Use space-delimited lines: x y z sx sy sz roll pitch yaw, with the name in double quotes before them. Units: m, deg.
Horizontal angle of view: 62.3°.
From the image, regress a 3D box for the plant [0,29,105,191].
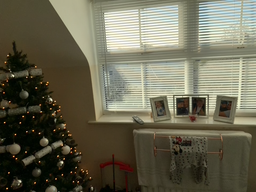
"plant" -0.780 0.420 1.700 0.840 1.700 0.830 -1 12 13
